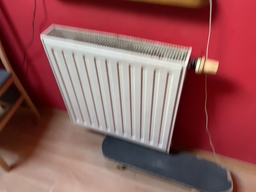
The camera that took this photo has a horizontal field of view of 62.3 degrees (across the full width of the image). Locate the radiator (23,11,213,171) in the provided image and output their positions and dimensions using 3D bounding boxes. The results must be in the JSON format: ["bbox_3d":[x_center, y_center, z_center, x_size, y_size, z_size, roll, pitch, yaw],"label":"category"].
[{"bbox_3d":[-0.040,0.020,1.050,0.690,0.740,0.170,14,48,15],"label":"radiator"}]
